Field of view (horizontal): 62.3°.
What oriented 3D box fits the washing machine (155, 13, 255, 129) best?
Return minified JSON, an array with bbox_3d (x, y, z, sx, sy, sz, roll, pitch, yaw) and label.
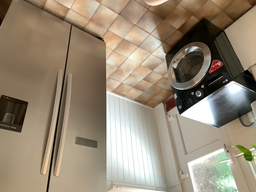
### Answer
[{"bbox_3d":[0.830,-0.230,2.240,0.770,0.840,0.580,19,137,-30],"label":"washing machine"}]
